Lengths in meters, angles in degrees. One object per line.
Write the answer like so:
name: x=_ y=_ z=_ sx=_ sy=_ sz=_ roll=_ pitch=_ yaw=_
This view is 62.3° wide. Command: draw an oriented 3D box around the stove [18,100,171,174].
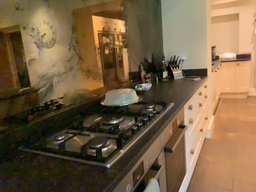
stove: x=-0.100 y=0.160 z=1.250 sx=0.480 sy=0.040 sz=0.870 roll=1 pitch=14 yaw=26
